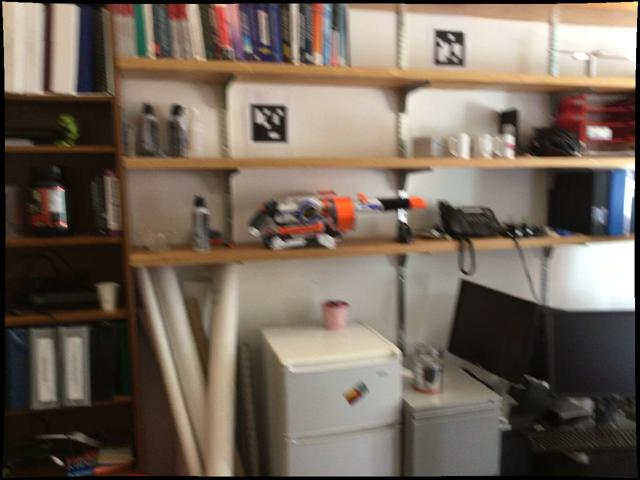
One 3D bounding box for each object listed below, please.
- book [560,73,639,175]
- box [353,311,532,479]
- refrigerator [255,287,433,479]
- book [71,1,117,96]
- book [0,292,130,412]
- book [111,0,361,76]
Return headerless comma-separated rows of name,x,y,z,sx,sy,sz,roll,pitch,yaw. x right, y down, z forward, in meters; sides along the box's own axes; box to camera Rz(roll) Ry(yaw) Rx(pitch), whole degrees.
book,1.588,-0.551,2.790,0.699,0.440,0.340,-3,11,-16
box,0.480,0.781,2.490,0.470,0.751,0.640,-3,11,-16
refrigerator,0.060,0.721,2.400,0.549,0.891,0.590,-3,11,-16
book,-0.799,-0.671,2.060,0.120,0.290,0.210,-3,11,-16
book,-1.159,0.420,2.170,0.829,0.300,0.370,-3,11,-16
book,-0.310,-0.801,2.200,0.899,0.290,0.230,-3,11,-16
